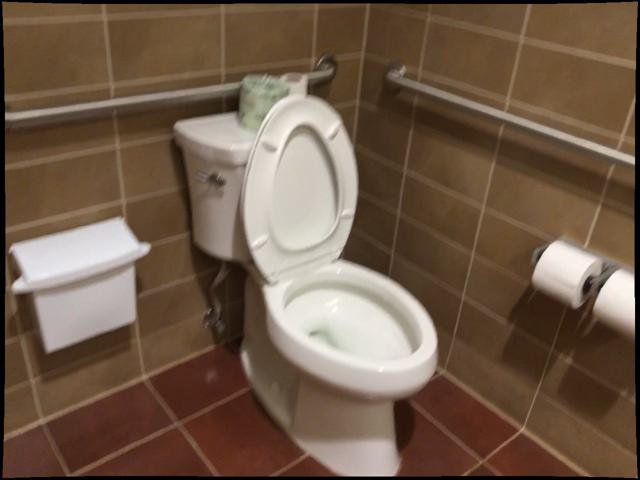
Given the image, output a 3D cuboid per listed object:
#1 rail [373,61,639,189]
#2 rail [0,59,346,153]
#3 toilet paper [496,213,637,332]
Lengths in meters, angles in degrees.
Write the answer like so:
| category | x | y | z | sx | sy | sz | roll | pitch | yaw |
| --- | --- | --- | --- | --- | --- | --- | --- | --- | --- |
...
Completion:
| category | x | y | z | sx | sy | sz | roll | pitch | yaw |
| --- | --- | --- | --- | --- | --- | --- | --- | --- | --- |
| rail | 0.589 | -0.220 | 1.310 | 0.100 | 0.060 | 1.280 | -20 | 38 | -33 |
| rail | -0.330 | -0.360 | 1.470 | 0.969 | 0.070 | 0.070 | -20 | 38 | -33 |
| toilet paper | 0.579 | 0.070 | 1.380 | 0.160 | 0.150 | 0.230 | -20 | 38 | -33 |
